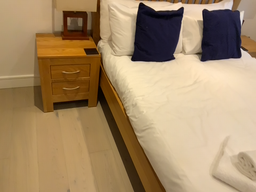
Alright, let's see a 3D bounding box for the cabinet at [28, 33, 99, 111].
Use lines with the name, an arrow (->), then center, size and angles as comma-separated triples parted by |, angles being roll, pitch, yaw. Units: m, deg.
cabinet -> -0.580, -0.220, 1.900 | 0.510, 0.530, 0.400 | -5, 41, -21
